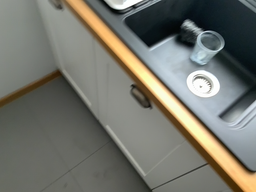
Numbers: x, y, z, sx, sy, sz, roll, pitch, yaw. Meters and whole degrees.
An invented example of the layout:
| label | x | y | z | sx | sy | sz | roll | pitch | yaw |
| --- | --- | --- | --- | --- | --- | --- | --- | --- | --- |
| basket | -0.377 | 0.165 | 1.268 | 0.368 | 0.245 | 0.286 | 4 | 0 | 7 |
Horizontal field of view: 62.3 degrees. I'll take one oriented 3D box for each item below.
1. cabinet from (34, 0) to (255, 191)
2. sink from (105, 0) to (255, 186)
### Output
| label | x | y | z | sx | sy | sz | roll | pitch | yaw |
| --- | --- | --- | --- | --- | --- | --- | --- | --- | --- |
| cabinet | 0.240 | 0.030 | 0.990 | 0.600 | 0.890 | 1.450 | -33 | 70 | -22 |
| sink | 0.290 | -0.110 | 0.700 | 0.520 | 0.240 | 0.520 | -33 | 70 | -22 |
